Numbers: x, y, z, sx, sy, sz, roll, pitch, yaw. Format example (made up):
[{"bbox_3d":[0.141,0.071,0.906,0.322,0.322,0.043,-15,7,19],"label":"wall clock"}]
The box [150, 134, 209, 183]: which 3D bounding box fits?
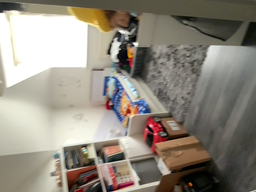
[{"bbox_3d":[0.550,0.680,2.350,0.320,0.480,0.330,-119,32,-51],"label":"box"}]
